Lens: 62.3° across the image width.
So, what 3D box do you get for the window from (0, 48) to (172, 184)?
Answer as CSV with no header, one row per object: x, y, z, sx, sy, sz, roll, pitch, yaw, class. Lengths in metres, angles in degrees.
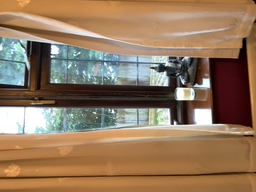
-0.310,0.100,1.170,0.080,1.120,0.680,148,123,-76,window
